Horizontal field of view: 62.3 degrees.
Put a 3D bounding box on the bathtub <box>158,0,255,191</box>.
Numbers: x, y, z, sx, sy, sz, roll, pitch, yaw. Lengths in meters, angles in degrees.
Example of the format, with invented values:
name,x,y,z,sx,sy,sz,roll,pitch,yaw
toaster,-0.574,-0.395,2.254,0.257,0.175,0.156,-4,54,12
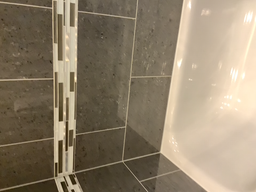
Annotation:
name,x,y,z,sx,sy,sz,roll,pitch,yaw
bathtub,0.700,-0.320,1.050,0.690,0.580,1.640,31,120,55
